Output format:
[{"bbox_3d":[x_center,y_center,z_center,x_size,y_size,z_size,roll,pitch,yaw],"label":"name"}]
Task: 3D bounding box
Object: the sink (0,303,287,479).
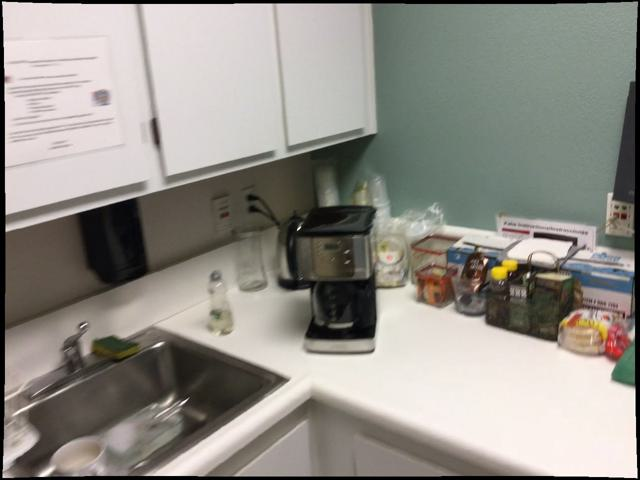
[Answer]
[{"bbox_3d":[-0.450,0.420,1.370,0.520,0.280,0.490,10,24,39],"label":"sink"}]
